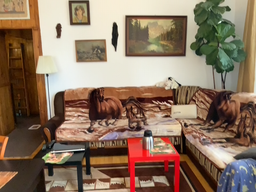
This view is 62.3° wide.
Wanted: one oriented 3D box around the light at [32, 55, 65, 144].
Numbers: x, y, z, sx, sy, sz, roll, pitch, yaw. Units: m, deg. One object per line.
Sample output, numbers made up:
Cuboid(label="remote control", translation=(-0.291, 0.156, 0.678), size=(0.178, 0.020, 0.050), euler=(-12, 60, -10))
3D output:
Cuboid(label="light", translation=(-1.420, 0.050, 3.860), size=(0.340, 1.570, 0.380), euler=(-1, 10, 1))

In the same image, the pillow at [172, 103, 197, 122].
Cuboid(label="pillow", translation=(0.950, 0.280, 3.600), size=(0.400, 0.310, 0.120), euler=(-1, -8, 15))
